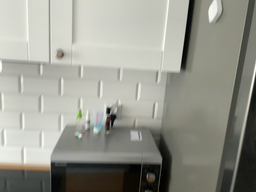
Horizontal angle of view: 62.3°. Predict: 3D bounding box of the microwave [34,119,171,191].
[{"bbox_3d":[-0.110,0.310,0.990,0.520,0.290,0.310,4,13,-4],"label":"microwave"}]
